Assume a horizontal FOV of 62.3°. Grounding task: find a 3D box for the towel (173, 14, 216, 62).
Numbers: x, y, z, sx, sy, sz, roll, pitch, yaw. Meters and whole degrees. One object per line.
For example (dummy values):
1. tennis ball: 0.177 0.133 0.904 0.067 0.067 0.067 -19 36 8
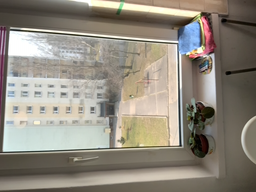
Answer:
1. towel: 0.380 -0.330 1.240 0.200 0.140 0.190 141 129 -72
